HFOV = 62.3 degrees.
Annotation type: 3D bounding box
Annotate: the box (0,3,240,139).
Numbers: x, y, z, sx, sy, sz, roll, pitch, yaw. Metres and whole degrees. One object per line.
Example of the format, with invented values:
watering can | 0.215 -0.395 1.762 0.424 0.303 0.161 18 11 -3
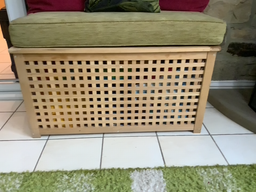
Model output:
box | -0.070 -0.170 1.250 1.060 0.630 0.510 0 28 -3
